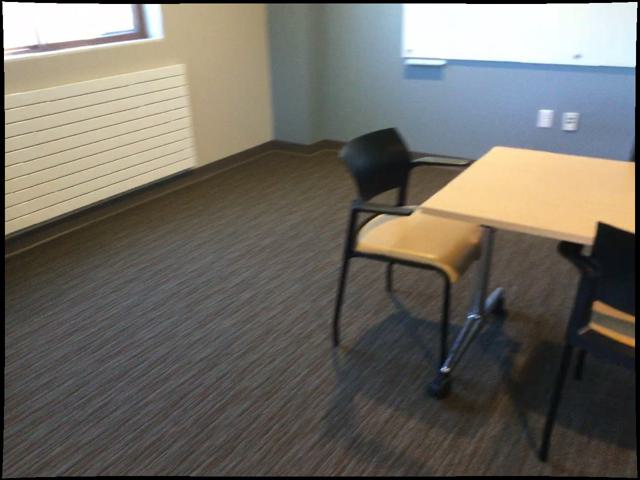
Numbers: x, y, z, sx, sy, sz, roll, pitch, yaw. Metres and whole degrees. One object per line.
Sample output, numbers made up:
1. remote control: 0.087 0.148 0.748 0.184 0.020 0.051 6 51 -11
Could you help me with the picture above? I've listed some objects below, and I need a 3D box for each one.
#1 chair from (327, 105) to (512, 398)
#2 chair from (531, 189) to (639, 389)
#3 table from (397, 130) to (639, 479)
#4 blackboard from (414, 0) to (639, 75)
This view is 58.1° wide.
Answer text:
1. chair: 0.389 0.020 2.290 0.489 0.952 0.510 15 32 31
2. chair: 0.928 0.160 1.490 0.629 0.421 0.250 15 32 31
3. table: 1.067 0.190 1.960 1.318 0.752 0.910 15 32 31
4. blackboard: 2.085 -1.253 3.150 3.364 0.701 0.120 15 32 31
